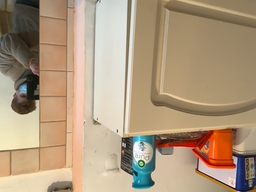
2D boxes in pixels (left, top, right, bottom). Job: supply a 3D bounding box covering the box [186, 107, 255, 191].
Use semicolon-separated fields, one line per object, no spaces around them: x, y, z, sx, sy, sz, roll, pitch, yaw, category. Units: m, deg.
0.380;0.200;0.860;0.140;0.280;0.240;0;-175;-28;box
